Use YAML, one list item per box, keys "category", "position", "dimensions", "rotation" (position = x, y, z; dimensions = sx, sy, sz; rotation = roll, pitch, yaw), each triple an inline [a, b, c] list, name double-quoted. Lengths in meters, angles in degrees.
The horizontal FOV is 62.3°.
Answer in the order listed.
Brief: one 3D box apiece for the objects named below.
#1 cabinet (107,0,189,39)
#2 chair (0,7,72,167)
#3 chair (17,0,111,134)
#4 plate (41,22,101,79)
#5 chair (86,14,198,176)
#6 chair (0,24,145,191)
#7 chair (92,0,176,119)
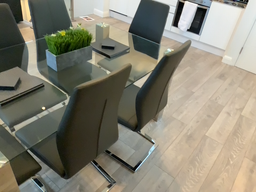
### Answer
- category: "cabinet"
  position: [0.380, -1.950, 4.470]
  dimensions: [1.580, 0.880, 0.590]
  rotation: [29, 40, 24]
- category: "chair"
  position: [-0.780, -0.060, 1.580]
  dimensions: [0.550, 0.970, 0.430]
  rotation: [30, 41, 27]
- category: "chair"
  position: [-0.540, -0.270, 1.890]
  dimensions: [0.550, 1.000, 0.430]
  rotation: [30, 41, 27]
- category: "plate"
  position: [-0.360, -0.310, 1.400]
  dimensions: [0.130, 0.260, 0.360]
  rotation: [30, 41, 26]
- category: "chair"
  position: [0.030, 0.010, 1.610]
  dimensions: [0.550, 1.020, 0.410]
  rotation: [30, 41, 26]
- category: "chair"
  position: [-0.330, 0.190, 1.290]
  dimensions: [0.550, 1.020, 0.430]
  rotation: [30, 41, 26]
- category: "chair"
  position: [0.020, -0.390, 2.150]
  dimensions: [0.470, 1.030, 0.560]
  rotation: [30, 41, 25]
